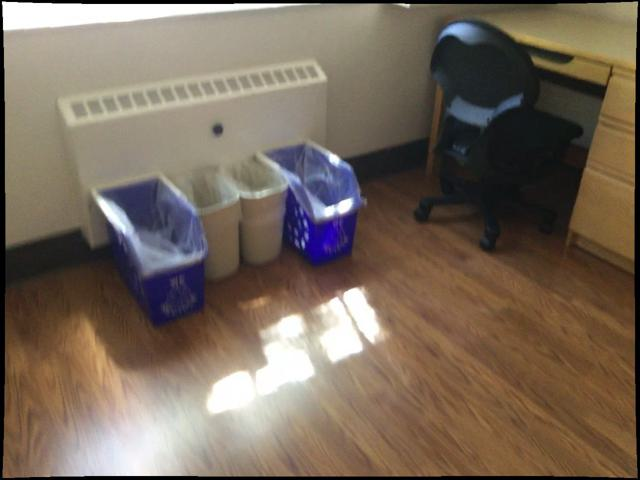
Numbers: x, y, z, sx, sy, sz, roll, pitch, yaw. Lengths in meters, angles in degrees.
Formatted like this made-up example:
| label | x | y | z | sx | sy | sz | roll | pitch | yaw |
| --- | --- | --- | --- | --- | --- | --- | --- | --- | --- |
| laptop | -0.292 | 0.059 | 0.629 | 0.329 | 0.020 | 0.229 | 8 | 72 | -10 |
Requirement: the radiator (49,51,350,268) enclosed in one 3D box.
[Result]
| label | x | y | z | sx | sy | sz | roll | pitch | yaw |
| --- | --- | --- | --- | --- | --- | --- | --- | --- | --- |
| radiator | -0.380 | -0.340 | 2.210 | 1.099 | 0.590 | 0.140 | -20 | 39 | -31 |
